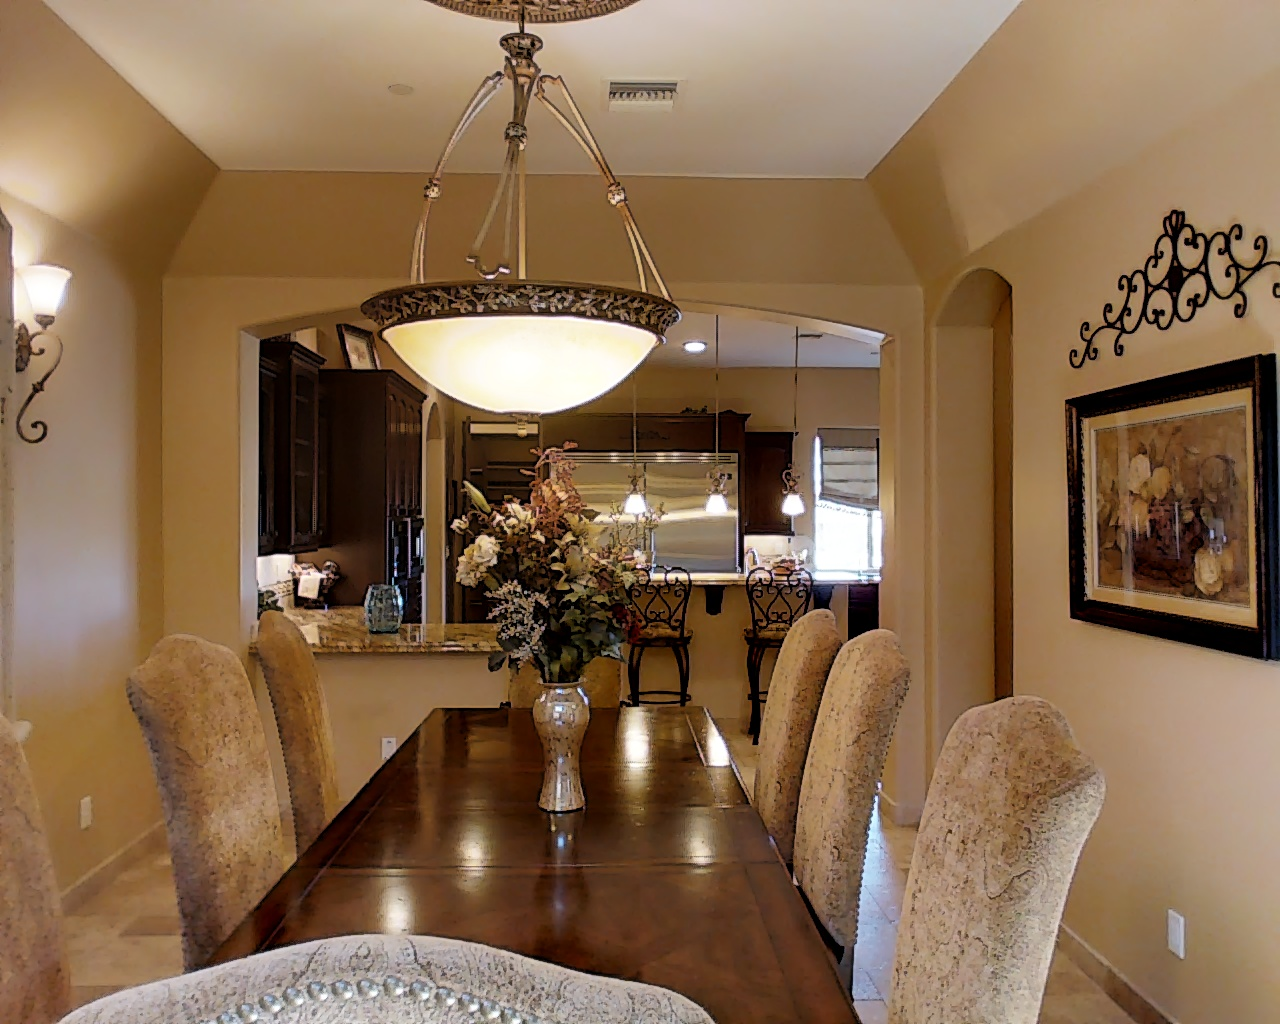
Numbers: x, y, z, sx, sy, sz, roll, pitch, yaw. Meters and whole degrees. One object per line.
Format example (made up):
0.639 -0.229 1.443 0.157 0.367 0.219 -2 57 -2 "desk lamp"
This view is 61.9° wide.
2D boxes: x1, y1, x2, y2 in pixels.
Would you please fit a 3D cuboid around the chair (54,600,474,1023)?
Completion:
-0.840 0.880 2.620 0.760 1.260 0.820 0 0 -2 "chair"

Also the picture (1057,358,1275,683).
1.480 0.020 3.110 0.070 0.790 1.040 0 0 -3 "picture"

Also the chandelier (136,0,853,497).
-0.330 -0.830 2.830 0.930 1.280 0.990 -45 2 -2 "chandelier"

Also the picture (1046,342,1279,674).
1.470 -0.010 3.120 0.070 0.790 1.150 0 0 -3 "picture"

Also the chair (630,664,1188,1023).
0.350 0.920 1.790 0.700 1.210 0.810 0 0 -3 "chair"

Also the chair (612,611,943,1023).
0.320 0.910 2.890 0.770 1.210 0.730 0 0 -3 "chair"
